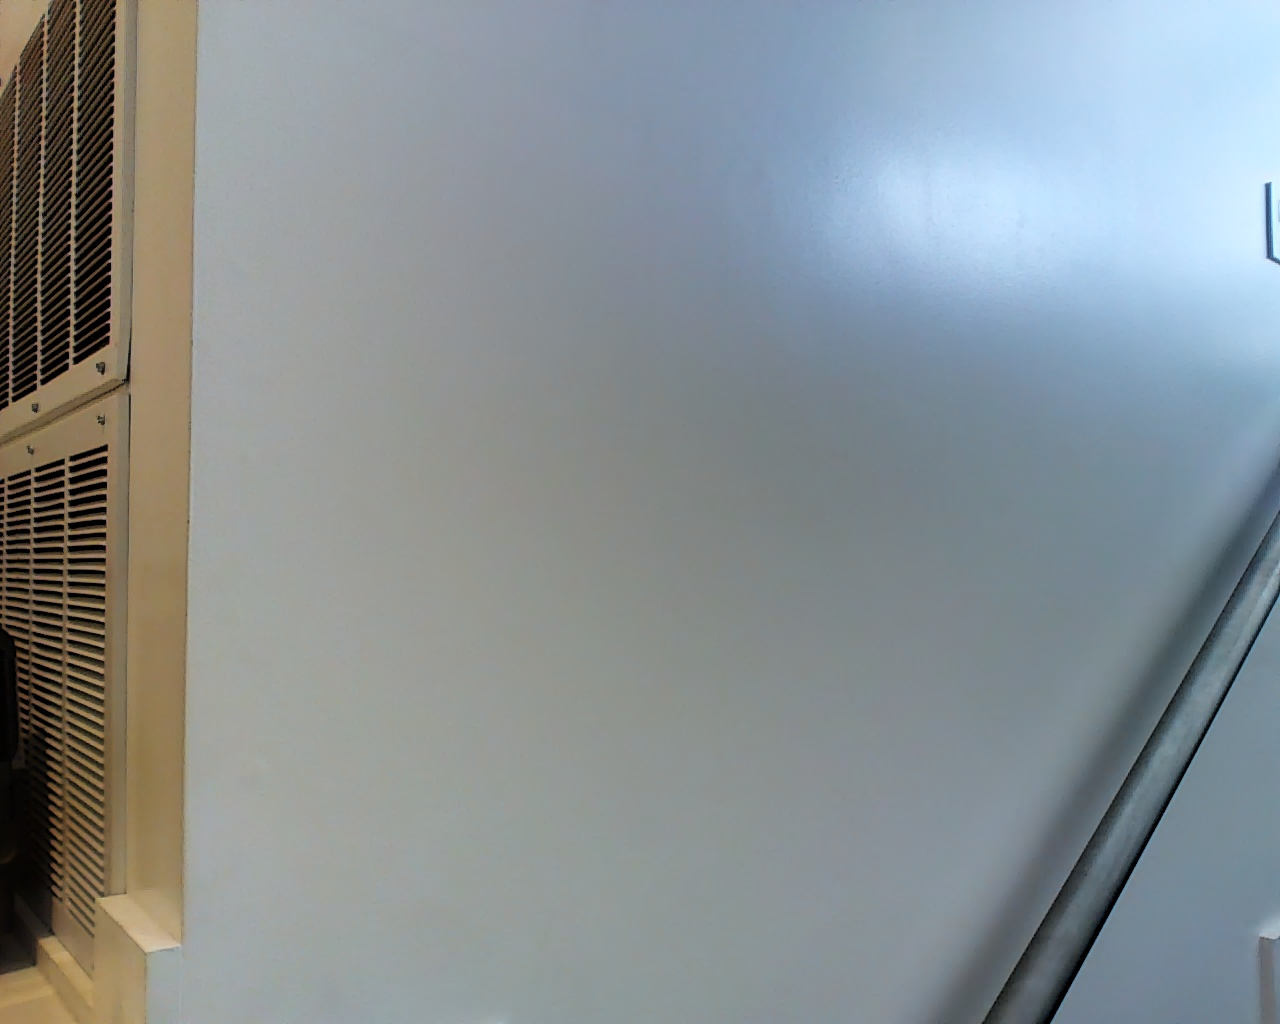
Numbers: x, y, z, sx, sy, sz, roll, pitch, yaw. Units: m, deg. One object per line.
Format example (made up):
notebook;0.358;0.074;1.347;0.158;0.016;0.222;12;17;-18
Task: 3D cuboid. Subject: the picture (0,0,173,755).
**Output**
picture;-0.530;-0.180;0.930;0.060;0.680;0.600;2;-3;-40
